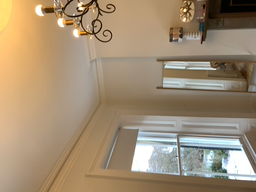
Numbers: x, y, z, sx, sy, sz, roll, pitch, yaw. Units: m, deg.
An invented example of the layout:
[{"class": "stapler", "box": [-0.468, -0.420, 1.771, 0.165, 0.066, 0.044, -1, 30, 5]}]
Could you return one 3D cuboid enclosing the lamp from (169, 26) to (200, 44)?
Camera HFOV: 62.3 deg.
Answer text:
[{"class": "lamp", "box": [0.830, -0.910, 3.160, 0.200, 0.420, 0.220, -71, -20, -62]}]
